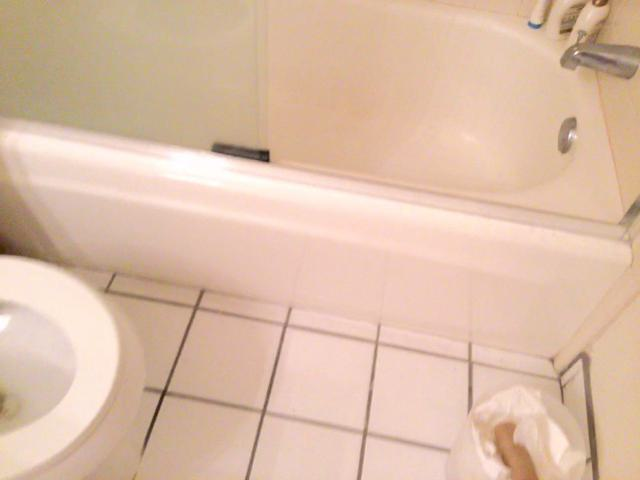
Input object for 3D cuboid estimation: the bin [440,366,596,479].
[{"bbox_3d":[0.340,0.390,1.040,0.200,0.230,0.200,10,49,5],"label":"bin"}]
